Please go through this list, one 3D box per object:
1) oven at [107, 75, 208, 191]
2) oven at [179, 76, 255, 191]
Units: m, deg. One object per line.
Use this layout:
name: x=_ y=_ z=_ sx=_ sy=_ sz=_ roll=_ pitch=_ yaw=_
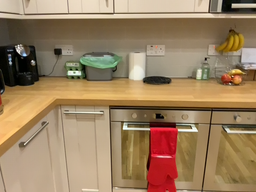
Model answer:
oven: x=0.190 y=0.350 z=1.700 sx=0.600 sy=0.910 sz=0.630 roll=1 pitch=18 yaw=3
oven: x=0.790 y=0.360 z=1.660 sx=0.600 sy=0.910 sz=0.650 roll=1 pitch=18 yaw=3
